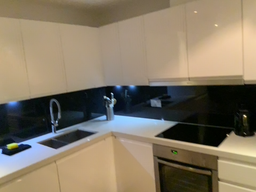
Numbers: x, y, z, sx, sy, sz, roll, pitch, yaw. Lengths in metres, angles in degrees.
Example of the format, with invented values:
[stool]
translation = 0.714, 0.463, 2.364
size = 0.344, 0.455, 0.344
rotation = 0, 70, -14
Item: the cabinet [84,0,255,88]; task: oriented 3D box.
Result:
[cabinet]
translation = 0.390, -0.470, 2.250
size = 1.870, 0.720, 0.450
rotation = 1, 10, 36
